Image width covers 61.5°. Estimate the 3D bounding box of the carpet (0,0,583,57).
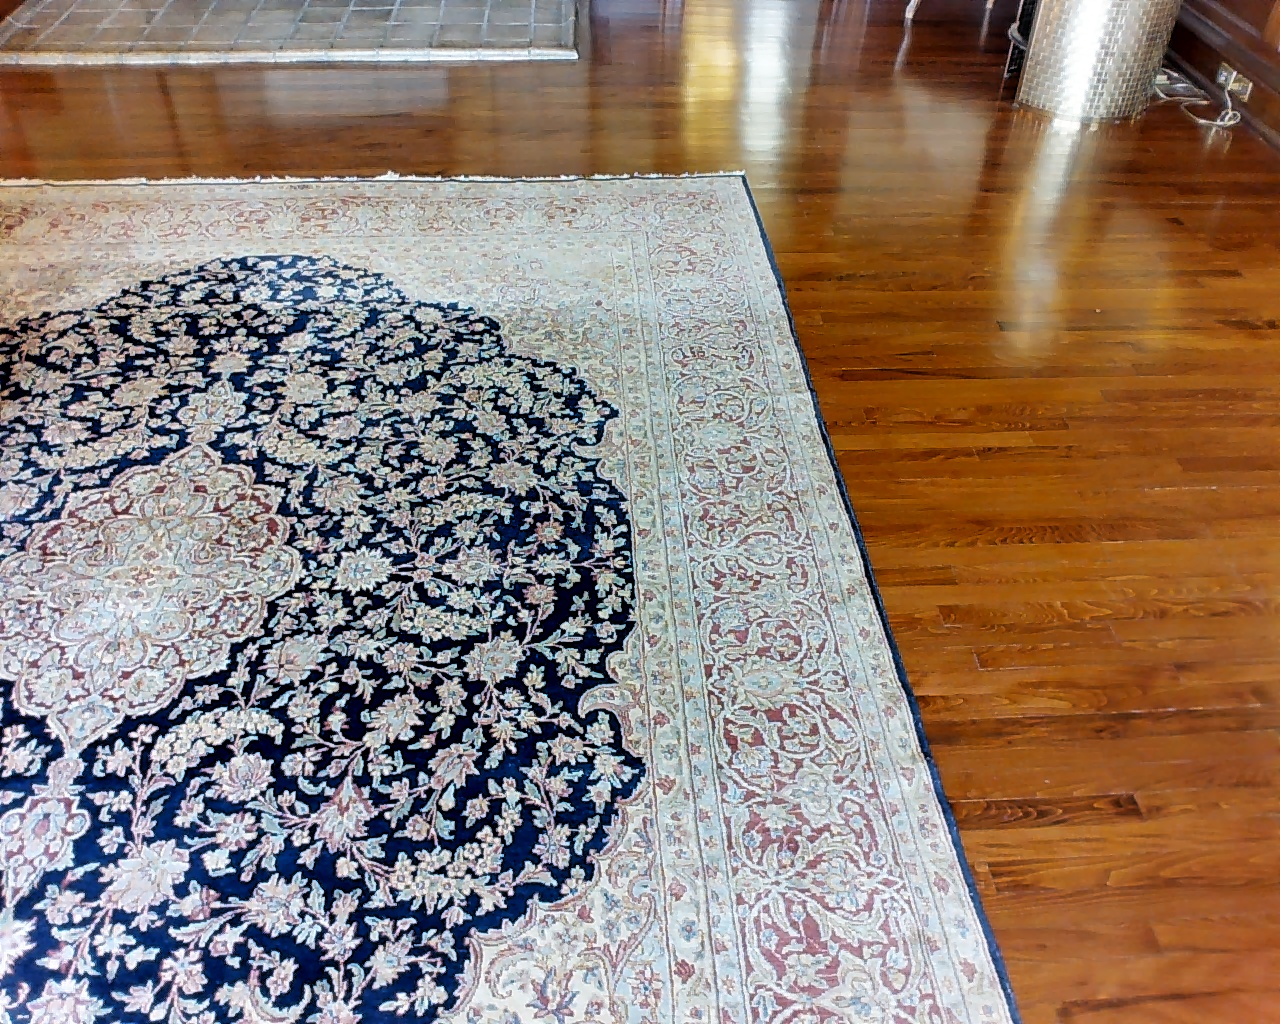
[{"bbox_3d":[-1.560,-2.220,4.790,2.590,0.040,0.900,-2,42,-3],"label":"carpet"}]
